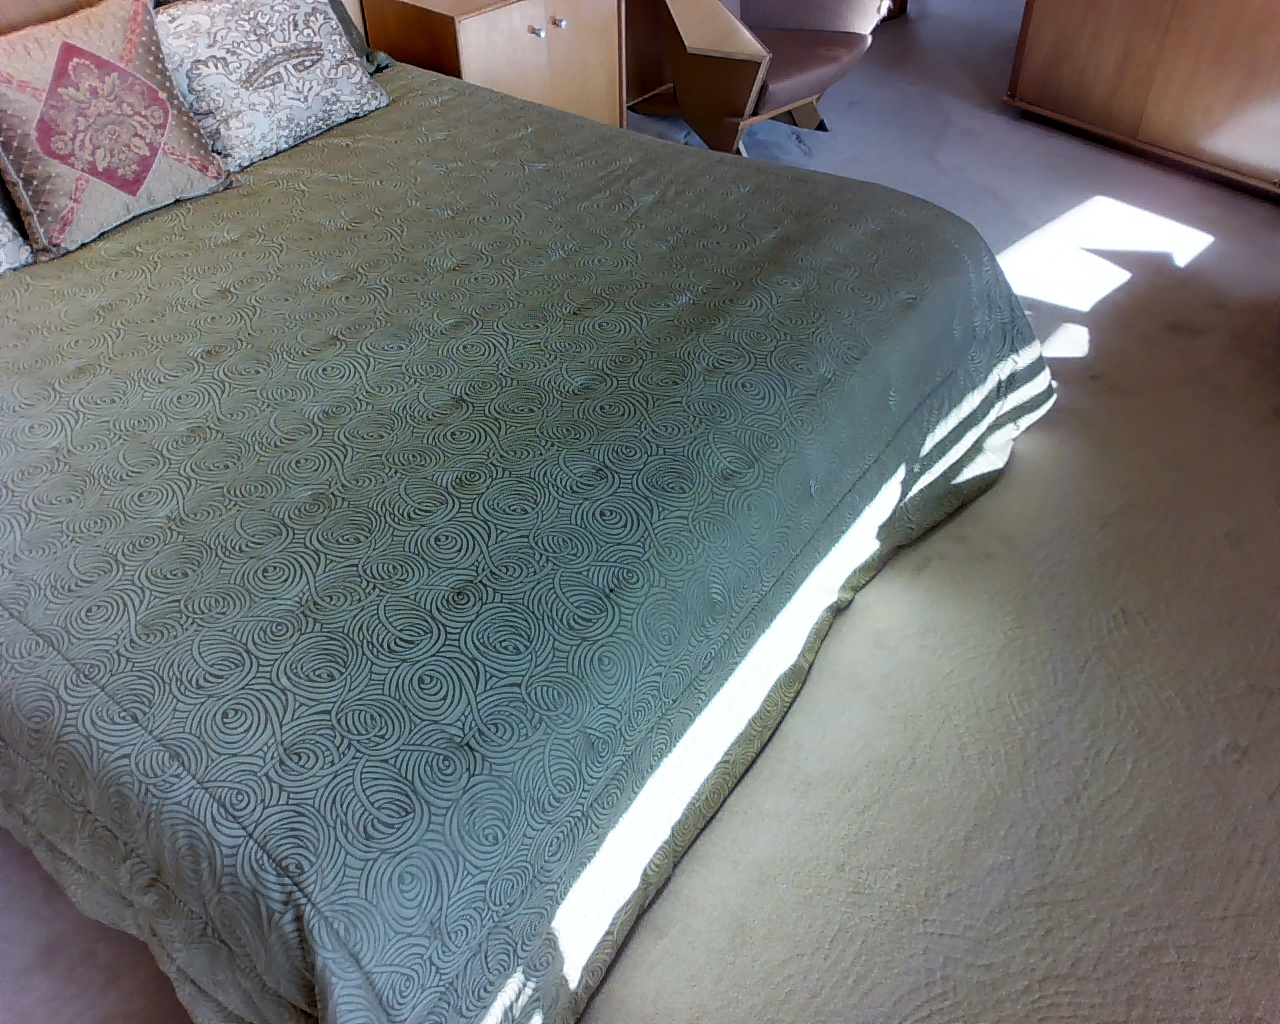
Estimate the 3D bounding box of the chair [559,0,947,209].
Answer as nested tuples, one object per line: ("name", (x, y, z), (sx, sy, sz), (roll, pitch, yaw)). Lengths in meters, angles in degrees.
("chair", (0.410, -1.760, 3.810), (0.940, 0.780, 1.020), (30, 51, 30))
